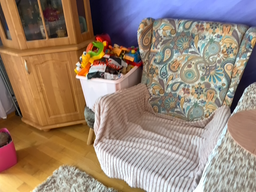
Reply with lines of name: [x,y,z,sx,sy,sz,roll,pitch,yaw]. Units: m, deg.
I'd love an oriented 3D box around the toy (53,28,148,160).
toy: [-0.170,-0.050,1.920,0.420,0.910,0.680,17,37,29]
